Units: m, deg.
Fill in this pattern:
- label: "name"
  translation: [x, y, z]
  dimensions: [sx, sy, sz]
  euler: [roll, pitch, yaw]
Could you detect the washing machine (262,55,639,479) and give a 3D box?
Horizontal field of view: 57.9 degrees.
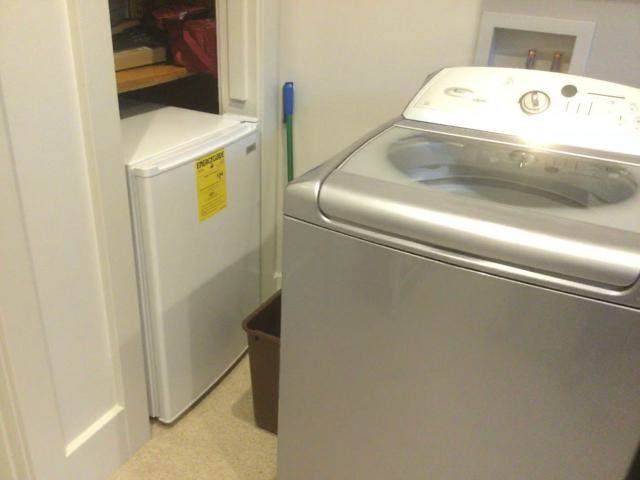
- label: "washing machine"
  translation: [0.350, 0.200, 1.340]
  dimensions: [0.710, 1.080, 0.690]
  euler: [13, 27, 22]
